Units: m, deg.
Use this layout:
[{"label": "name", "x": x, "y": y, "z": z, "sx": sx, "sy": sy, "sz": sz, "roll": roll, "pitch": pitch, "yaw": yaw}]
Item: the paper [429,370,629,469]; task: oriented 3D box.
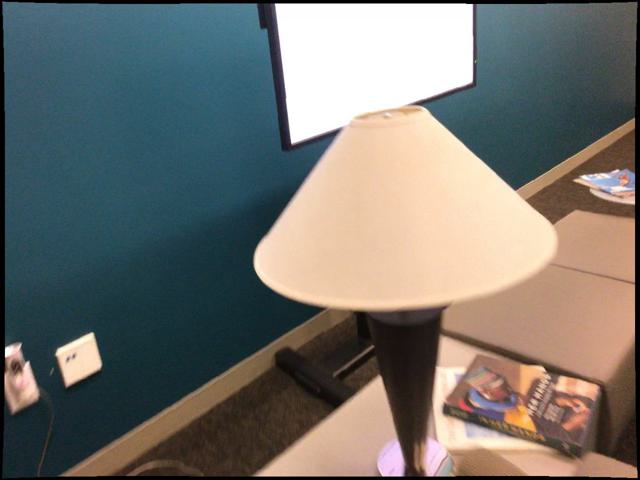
[{"label": "paper", "x": 0.499, "y": 0.441, "z": 1.460, "sx": 0.419, "sy": 0.030, "sz": 0.320, "roll": -2, "pitch": 24, "yaw": 7}]
